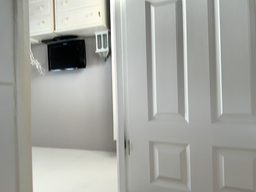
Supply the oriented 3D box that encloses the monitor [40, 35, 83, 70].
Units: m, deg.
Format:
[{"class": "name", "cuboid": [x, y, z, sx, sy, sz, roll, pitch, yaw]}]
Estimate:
[{"class": "monitor", "cuboid": [-1.030, -0.660, 3.270, 0.720, 0.470, 0.040, -2, 180, 16]}]
